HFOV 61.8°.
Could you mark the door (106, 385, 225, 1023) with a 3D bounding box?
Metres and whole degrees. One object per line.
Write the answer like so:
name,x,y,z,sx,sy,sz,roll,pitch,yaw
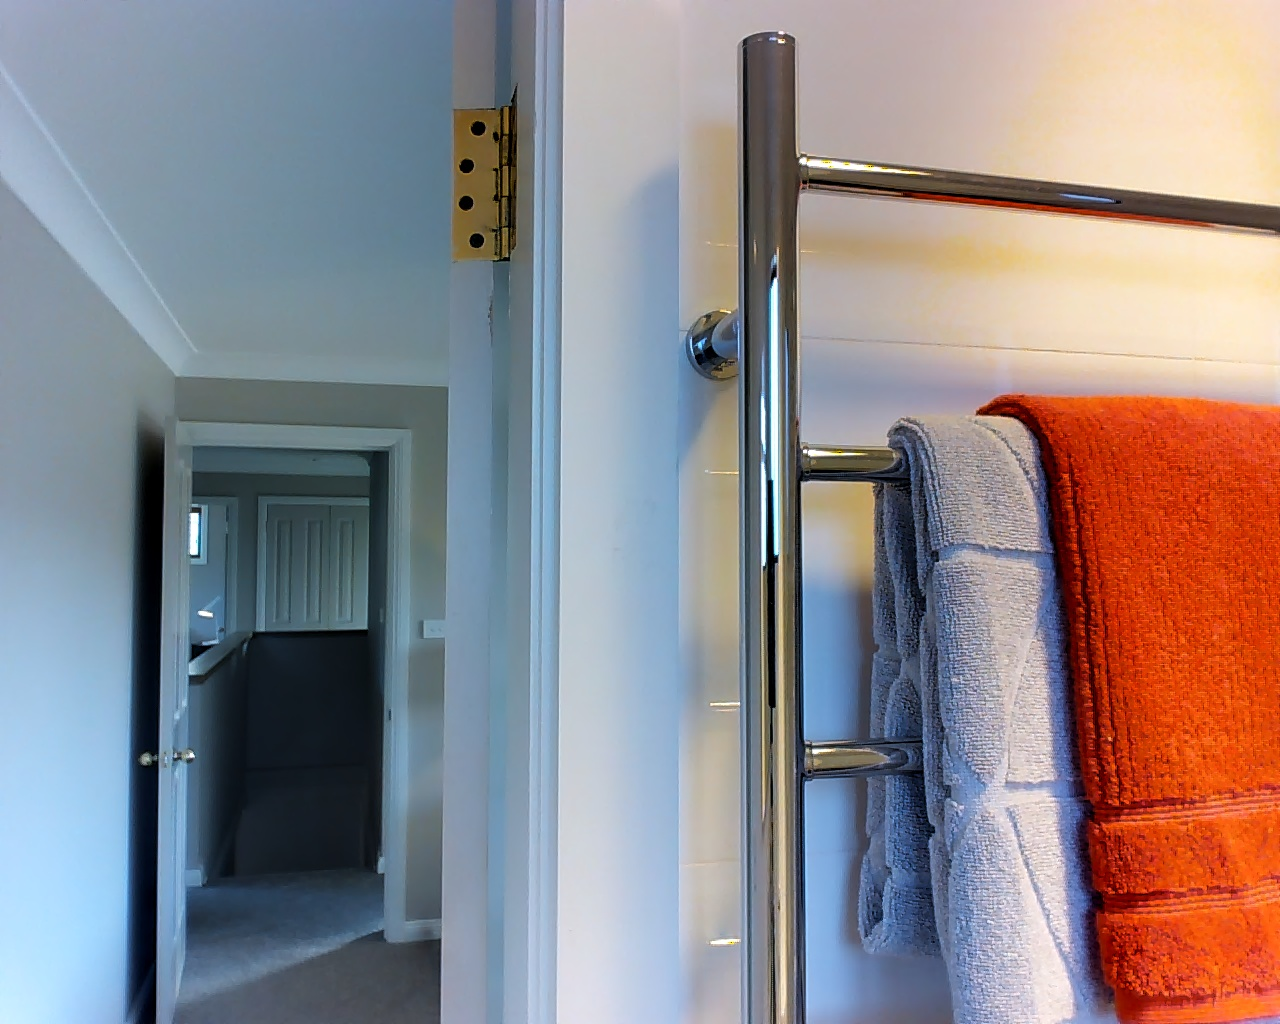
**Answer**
door,-1.660,0.670,3.800,0.200,2.101,0.910,1,-3,-15
